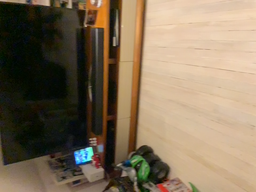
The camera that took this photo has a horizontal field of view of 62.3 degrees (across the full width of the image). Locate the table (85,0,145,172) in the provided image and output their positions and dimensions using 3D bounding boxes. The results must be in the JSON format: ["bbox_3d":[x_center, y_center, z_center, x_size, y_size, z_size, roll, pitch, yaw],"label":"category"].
[{"bbox_3d":[-0.190,-0.150,2.420,0.530,0.410,1.880,25,117,53],"label":"table"}]

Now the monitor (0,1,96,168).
[{"bbox_3d":[-0.760,-0.090,2.090,0.070,0.930,1.470,24,116,53],"label":"monitor"}]
